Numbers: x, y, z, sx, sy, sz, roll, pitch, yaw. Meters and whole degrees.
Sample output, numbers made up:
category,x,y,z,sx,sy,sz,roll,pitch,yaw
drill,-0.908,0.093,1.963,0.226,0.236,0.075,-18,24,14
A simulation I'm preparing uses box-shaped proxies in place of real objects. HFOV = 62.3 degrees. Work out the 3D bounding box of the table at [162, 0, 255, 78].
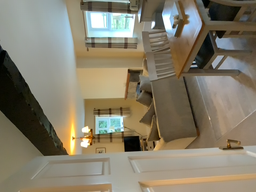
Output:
category,x,y,z,sx,sy,sz,roll,pitch,yaw
table,0.970,-0.970,2.530,0.860,0.760,1.240,100,167,-59

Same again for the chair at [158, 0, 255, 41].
category,x,y,z,sx,sy,sz,roll,pitch,yaw
chair,0.890,-0.910,1.960,0.630,1.040,0.460,99,168,-55
